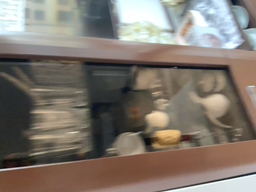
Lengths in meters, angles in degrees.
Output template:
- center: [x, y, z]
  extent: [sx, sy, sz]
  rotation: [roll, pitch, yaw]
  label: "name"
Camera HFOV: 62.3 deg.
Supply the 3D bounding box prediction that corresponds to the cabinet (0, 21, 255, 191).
- center: [0.140, 0.130, 0.930]
  extent: [0.510, 1.910, 0.520]
  rotation: [123, 141, -54]
  label: "cabinet"
